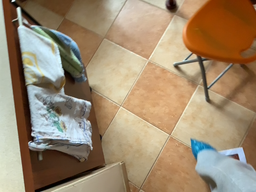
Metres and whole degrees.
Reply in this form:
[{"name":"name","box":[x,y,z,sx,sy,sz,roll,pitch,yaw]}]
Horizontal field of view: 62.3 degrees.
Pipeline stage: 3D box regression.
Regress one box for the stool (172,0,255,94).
[{"name":"stool","box":[0.420,-0.250,0.990,0.280,0.430,0.290,41,87,14]}]
